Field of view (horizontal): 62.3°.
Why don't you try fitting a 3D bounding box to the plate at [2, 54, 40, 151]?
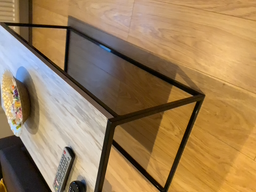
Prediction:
[{"bbox_3d":[-0.460,0.020,0.900,0.280,0.050,0.310,37,124,37],"label":"plate"}]
